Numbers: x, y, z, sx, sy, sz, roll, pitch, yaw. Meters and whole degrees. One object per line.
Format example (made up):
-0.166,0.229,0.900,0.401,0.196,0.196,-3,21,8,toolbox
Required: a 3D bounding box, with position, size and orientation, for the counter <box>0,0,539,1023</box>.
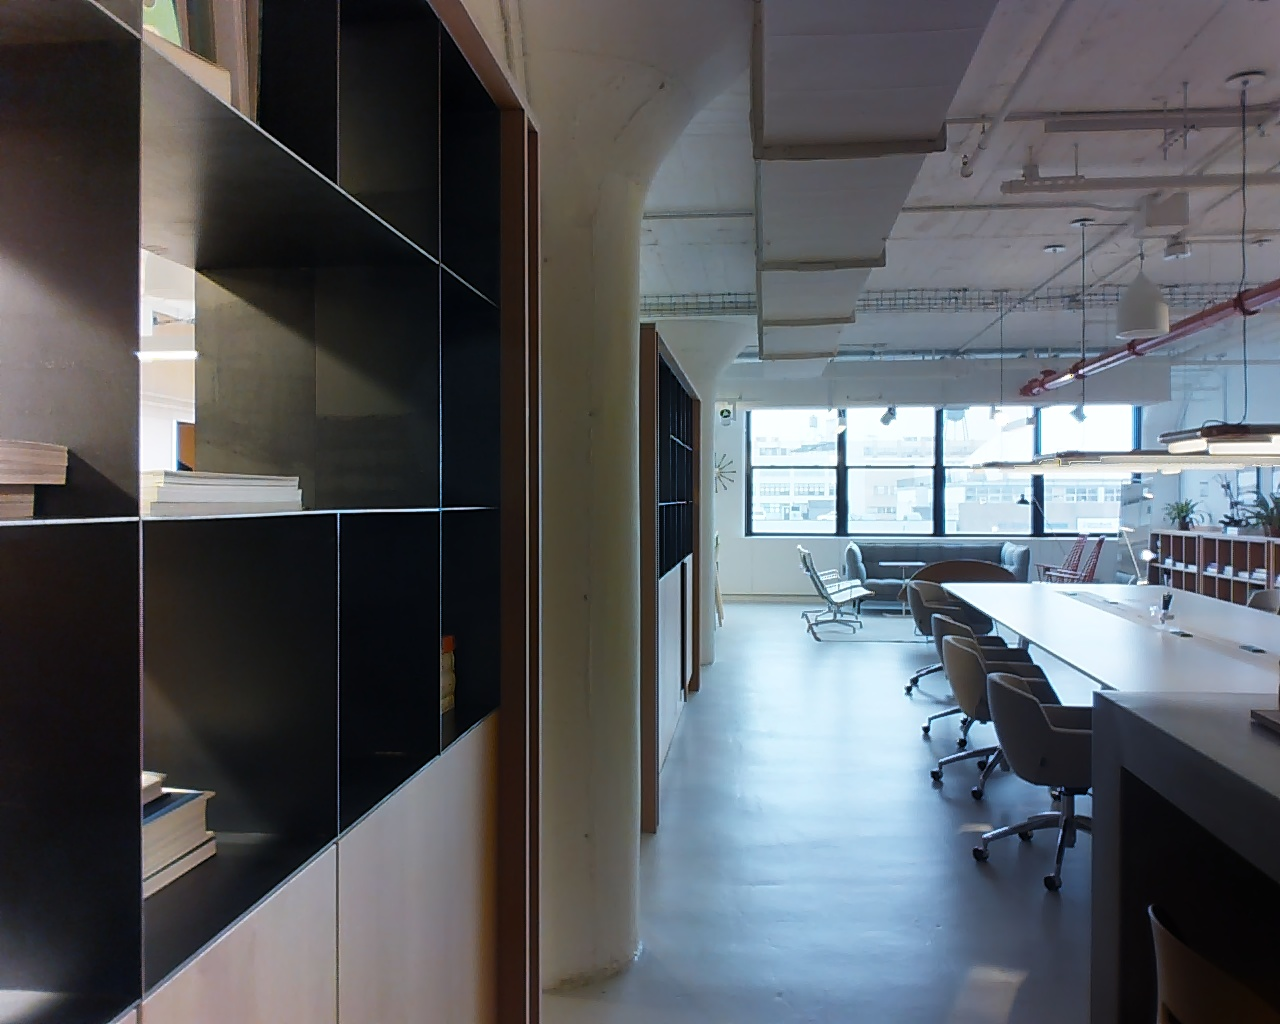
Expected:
-0.670,0.280,0.440,0.540,2.271,3.710,0,0,6,counter
